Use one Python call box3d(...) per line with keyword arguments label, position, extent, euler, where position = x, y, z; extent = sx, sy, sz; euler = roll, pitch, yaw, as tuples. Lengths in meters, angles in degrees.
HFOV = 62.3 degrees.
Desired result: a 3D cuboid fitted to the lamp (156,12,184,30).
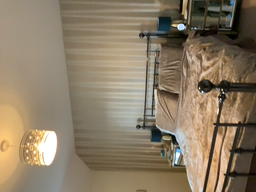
box3d(label="lamp", position=(0.550, -1.010, 2.850), extent=(0.240, 0.320, 0.210), euler=(-84, -4, -66))
